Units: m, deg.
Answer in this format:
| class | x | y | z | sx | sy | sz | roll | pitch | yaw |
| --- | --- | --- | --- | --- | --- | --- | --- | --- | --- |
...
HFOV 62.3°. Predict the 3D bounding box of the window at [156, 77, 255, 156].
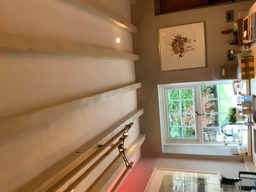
| class | x | y | z | sx | sy | sz | roll | pitch | yaw |
| --- | --- | --- | --- | --- | --- | --- | --- | --- | --- |
| window | 1.150 | 0.310 | 3.230 | 0.300 | 1.320 | 1.070 | -31 | -63 | -69 |
